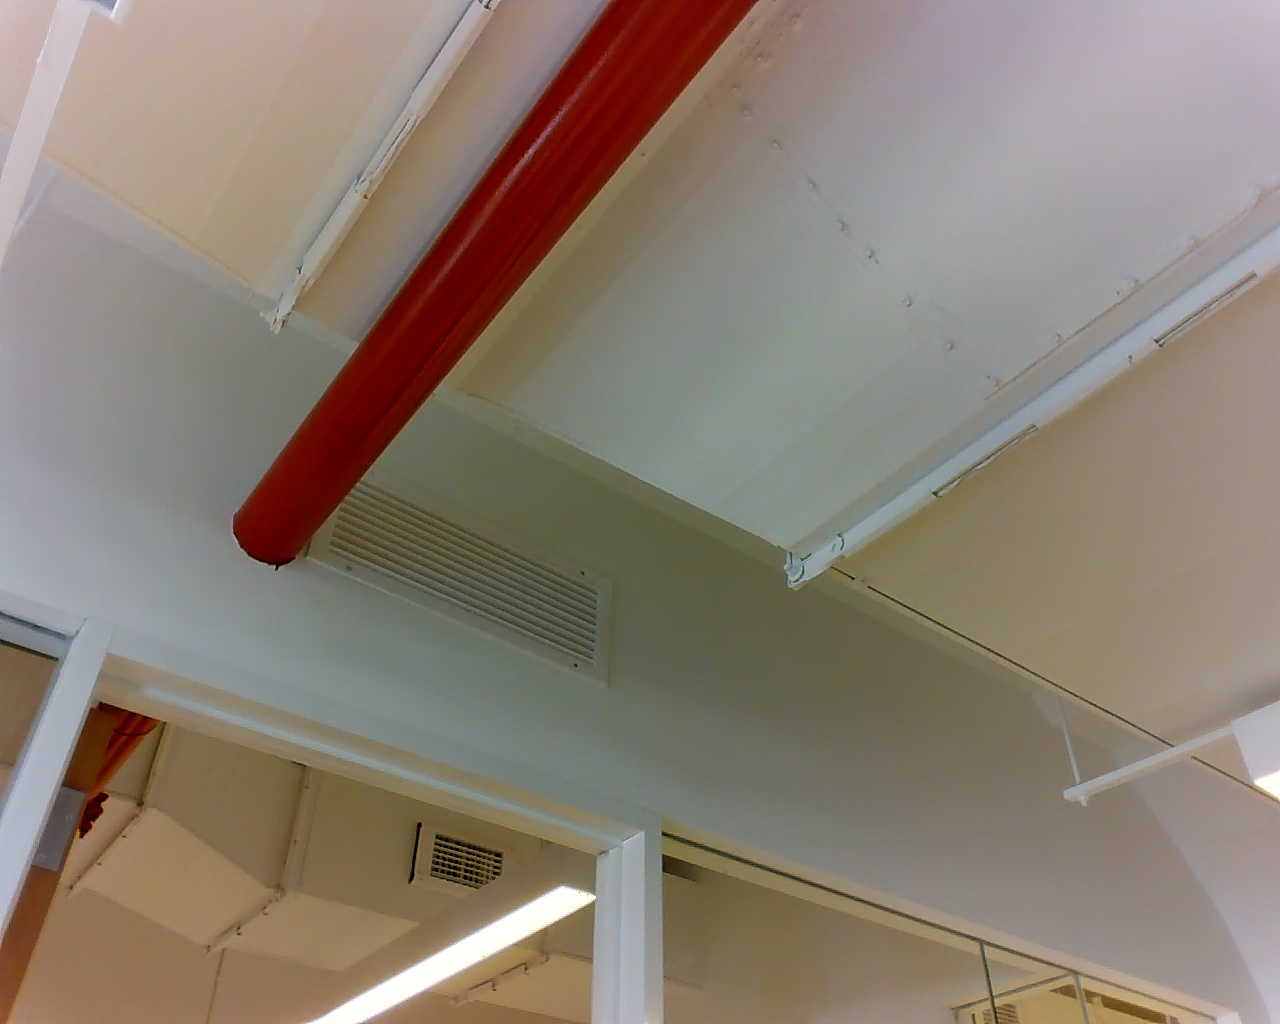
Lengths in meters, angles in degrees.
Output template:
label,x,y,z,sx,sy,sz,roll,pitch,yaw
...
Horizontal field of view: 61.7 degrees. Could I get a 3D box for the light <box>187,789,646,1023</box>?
label,x,y,z,sx,sy,sz,roll,pitch,yaw
light,-0.849,1.351,2.950,0.240,0.220,2.510,27,-48,-27
